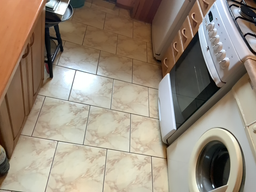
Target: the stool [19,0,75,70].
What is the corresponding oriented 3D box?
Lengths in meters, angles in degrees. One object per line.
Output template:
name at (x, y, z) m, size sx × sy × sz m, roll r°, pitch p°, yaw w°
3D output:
stool at (-0.560, -0.470, 1.500) m, size 0.260 × 0.420 × 0.330 m, roll 13°, pitch 50°, yaw -14°
